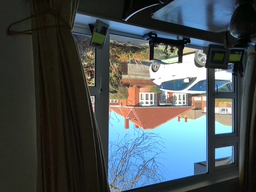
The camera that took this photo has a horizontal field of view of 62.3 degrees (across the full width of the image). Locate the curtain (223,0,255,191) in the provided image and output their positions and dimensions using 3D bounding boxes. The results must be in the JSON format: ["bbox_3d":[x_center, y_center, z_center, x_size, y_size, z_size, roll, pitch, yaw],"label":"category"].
[{"bbox_3d":[1.490,-0.070,2.410,0.690,2.500,0.410,1,179,-27],"label":"curtain"}]

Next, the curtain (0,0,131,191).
[{"bbox_3d":[-0.410,-0.200,1.390,0.840,2.500,0.250,1,179,-28],"label":"curtain"}]
